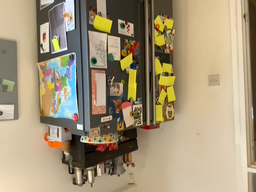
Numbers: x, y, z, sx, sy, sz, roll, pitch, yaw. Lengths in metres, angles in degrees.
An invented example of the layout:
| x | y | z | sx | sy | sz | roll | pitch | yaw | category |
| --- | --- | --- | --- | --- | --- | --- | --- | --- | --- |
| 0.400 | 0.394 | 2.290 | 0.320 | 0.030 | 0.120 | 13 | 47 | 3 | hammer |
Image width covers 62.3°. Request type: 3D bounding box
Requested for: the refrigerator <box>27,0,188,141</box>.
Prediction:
| x | y | z | sx | sy | sz | roll | pitch | yaw | category |
| --- | --- | --- | --- | --- | --- | --- | --- | --- | --- |
| -0.140 | -0.650 | 1.760 | 1.070 | 1.760 | 0.730 | -3 | 180 | -45 | refrigerator |
